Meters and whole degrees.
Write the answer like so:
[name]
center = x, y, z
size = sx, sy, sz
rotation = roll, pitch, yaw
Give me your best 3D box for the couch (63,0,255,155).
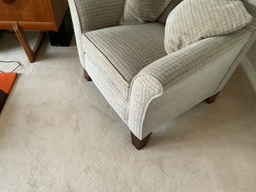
[couch]
center = 0.250, -0.380, 1.250
size = 0.940, 0.820, 0.760
rotation = -28, 56, -25
